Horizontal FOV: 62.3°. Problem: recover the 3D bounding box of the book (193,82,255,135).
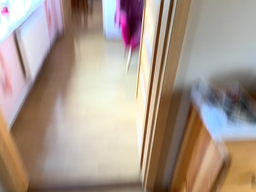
[{"bbox_3d":[0.440,0.040,0.930,0.210,0.050,0.300,0,36,-5],"label":"book"}]
